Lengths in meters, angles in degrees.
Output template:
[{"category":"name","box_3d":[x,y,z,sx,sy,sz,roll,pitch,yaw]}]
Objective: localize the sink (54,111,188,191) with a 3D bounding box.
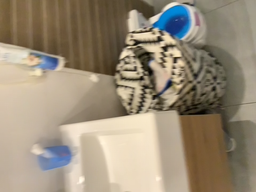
[{"category":"sink","box_3d":[-0.040,0.380,0.710,0.460,0.150,0.610,-12,80,39]}]
